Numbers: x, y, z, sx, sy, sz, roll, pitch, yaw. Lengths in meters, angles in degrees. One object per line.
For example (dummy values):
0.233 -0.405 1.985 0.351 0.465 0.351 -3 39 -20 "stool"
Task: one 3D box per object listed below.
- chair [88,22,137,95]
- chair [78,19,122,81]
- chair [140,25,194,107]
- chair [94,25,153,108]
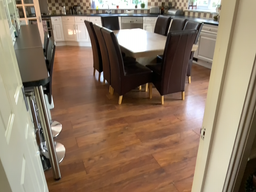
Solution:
-0.230 -0.600 3.350 0.630 0.990 0.410 -12 28 -21 "chair"
-0.500 -0.850 3.880 0.630 0.990 0.430 -12 28 -21 "chair"
0.510 -0.450 3.020 0.400 0.980 0.630 -13 28 -23 "chair"
-0.060 -0.430 2.980 0.630 0.980 0.470 -12 28 -21 "chair"
